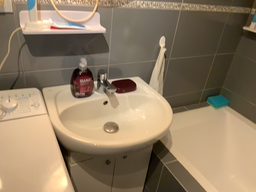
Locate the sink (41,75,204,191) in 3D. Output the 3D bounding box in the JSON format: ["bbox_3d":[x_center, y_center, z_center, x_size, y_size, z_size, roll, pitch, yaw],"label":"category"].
[{"bbox_3d":[-0.040,0.090,0.890,0.530,0.150,0.410,-9,34,-28],"label":"sink"}]
